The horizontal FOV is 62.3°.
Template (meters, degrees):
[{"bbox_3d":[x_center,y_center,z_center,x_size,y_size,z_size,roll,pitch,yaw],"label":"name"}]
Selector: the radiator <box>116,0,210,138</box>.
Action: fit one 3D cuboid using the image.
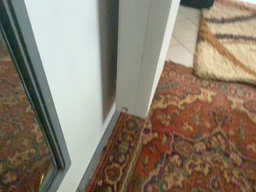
[{"bbox_3d":[0.170,-0.310,0.860,0.240,0.960,0.480,20,51,12],"label":"radiator"}]
